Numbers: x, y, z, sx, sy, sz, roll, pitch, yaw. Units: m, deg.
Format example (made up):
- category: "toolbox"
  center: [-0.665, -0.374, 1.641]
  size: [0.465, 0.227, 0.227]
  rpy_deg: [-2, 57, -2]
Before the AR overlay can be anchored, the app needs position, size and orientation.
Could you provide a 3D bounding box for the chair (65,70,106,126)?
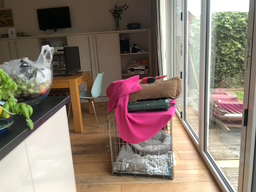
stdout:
- category: "chair"
  center: [-0.630, 0.010, 3.280]
  size: [0.460, 0.760, 0.460]
  rpy_deg: [-2, 14, 3]
